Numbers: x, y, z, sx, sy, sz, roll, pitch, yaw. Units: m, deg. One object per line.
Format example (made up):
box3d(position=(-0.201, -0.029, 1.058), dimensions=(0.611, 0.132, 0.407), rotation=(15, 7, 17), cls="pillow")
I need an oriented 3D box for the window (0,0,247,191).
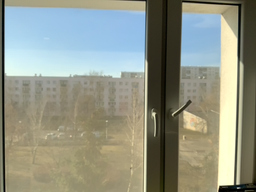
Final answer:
box3d(position=(-0.060, 0.140, 1.410), dimensions=(1.600, 1.530, 0.240), rotation=(1, 2, -6), cls="window")
